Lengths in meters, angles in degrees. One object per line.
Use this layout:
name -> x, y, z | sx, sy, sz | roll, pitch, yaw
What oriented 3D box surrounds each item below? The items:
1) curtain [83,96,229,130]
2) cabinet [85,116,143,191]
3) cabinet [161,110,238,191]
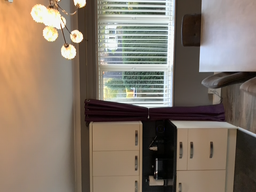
curtain -> 0.440, 0.260, 3.400 | 0.250, 2.250, 0.480 | -116, 26, -82
cabinet -> -0.210, 0.930, 3.360 | 0.380, 0.840, 1.150 | -108, 18, -83
cabinet -> 1.040, 2.200, 3.440 | 0.660, 0.910, 3.860 | -108, 18, -83
